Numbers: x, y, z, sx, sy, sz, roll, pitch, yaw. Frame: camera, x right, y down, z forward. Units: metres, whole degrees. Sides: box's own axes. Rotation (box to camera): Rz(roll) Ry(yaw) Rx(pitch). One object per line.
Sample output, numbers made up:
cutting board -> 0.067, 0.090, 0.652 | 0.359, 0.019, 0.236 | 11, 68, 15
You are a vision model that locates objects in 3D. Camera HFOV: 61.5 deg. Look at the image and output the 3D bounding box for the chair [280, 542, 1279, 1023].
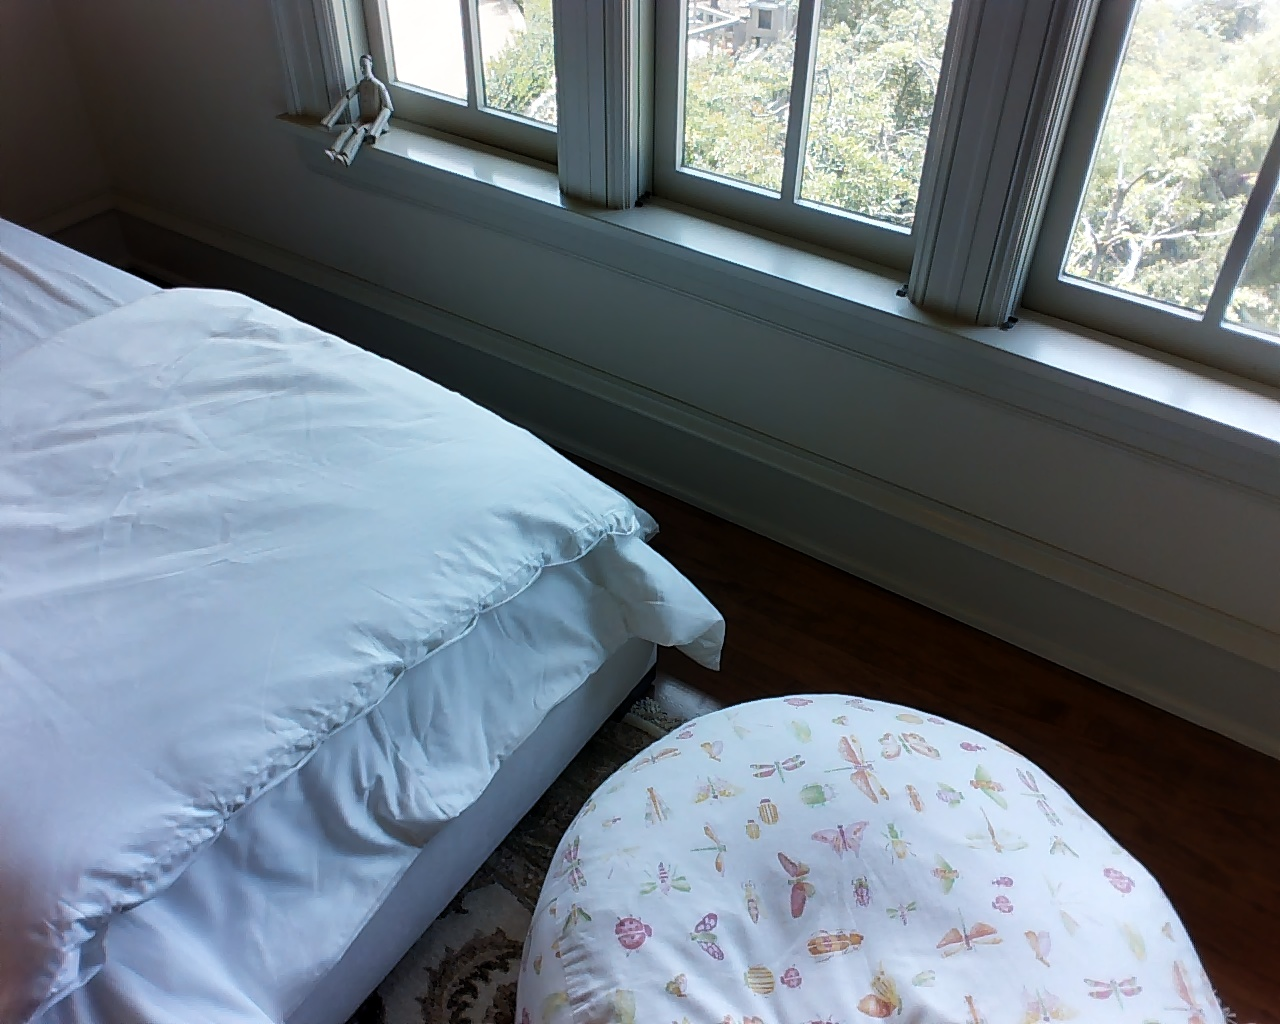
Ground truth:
chair -> 0.270, 0.650, 1.370 | 0.980, 0.400, 0.980 | 25, 47, 25
